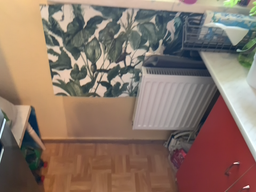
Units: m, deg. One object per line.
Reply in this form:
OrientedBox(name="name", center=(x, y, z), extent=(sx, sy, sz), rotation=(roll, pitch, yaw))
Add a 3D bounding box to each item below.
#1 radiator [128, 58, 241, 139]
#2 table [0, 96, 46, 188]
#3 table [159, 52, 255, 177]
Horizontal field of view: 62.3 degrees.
OrientedBox(name="radiator", center=(0.280, 0.050, 1.260), extent=(0.500, 0.550, 0.110), rotation=(3, 45, -6))
OrientedBox(name="table", center=(-0.660, 0.270, 1.200), extent=(0.250, 0.450, 0.320), rotation=(1, 46, -8))
OrientedBox(name="table", center=(0.550, 0.180, 1.200), extent=(0.540, 0.850, 0.190), rotation=(2, 46, -7))
